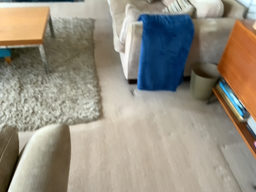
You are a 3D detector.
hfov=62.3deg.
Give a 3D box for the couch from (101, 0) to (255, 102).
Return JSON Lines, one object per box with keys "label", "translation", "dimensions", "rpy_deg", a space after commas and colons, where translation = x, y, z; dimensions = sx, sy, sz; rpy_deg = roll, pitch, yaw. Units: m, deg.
{"label": "couch", "translation": [0.310, -0.970, 2.490], "dimensions": [1.160, 0.800, 2.060], "rpy_deg": [-3, 43, -8]}
